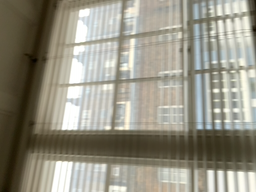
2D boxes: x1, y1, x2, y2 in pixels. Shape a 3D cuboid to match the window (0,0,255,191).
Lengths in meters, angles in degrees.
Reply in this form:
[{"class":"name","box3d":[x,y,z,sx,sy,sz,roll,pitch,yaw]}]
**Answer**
[{"class":"window","box3d":[0.380,-0.350,1.360,0.100,2.530,2.450,41,-132,-63]}]
